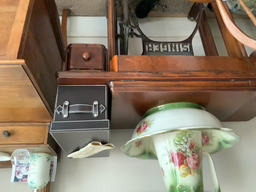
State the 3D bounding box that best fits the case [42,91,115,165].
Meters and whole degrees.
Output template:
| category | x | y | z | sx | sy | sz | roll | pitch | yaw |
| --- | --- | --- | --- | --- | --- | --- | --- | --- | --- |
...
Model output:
| category | x | y | z | sx | sy | sz | roll | pitch | yaw |
| --- | --- | --- | --- | --- | --- | --- | --- | --- | --- |
| case | -0.150 | 0.140 | 0.770 | 0.190 | 0.140 | 0.400 | -1 | 153 | -6 |
